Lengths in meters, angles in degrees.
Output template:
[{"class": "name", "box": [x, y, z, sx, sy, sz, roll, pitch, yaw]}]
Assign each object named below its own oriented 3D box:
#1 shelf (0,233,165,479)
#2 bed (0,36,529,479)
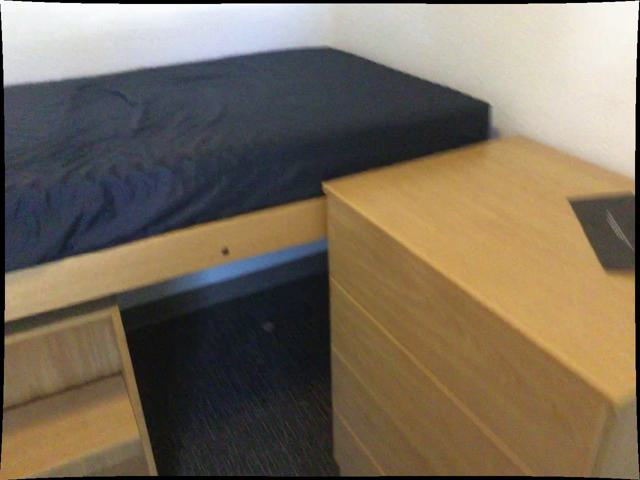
[{"class": "shelf", "box": [-0.928, 0.511, 1.390, 0.969, 0.771, 0.360, -15, 32, -24]}, {"class": "bed", "box": [-0.659, 0.150, 1.700, 2.197, 1.101, 0.970, -14, 32, -23]}]
